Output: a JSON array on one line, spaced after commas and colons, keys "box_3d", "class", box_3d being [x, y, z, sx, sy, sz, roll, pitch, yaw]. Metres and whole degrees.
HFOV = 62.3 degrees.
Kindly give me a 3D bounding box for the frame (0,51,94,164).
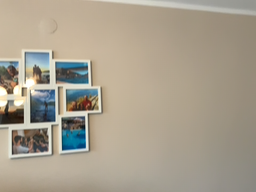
[{"box_3d": [-0.450, 0.050, 1.130, 0.510, 0.550, 0.080, -1, -6, -17], "class": "frame"}]
